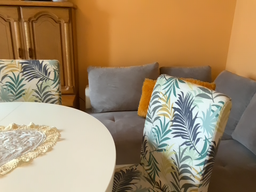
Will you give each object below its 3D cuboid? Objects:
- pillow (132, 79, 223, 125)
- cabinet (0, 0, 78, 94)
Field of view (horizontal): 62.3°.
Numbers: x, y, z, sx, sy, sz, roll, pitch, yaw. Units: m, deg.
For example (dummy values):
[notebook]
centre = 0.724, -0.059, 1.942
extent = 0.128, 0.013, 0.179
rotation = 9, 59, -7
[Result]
[pillow]
centre = 0.400, 0.040, 1.890
extent = 0.680, 0.290, 0.370
rotation = 0, 18, -6
[cabinet]
centre = -0.950, -0.470, 2.000
extent = 0.870, 0.830, 0.380
rotation = 0, 18, -7
